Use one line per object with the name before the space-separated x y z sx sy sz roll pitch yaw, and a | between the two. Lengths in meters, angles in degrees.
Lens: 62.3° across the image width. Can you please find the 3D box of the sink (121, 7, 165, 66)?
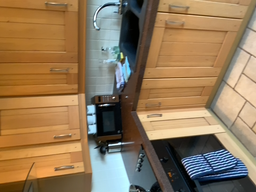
sink | 0.100 -0.500 1.760 0.440 0.170 0.330 -115 28 -49

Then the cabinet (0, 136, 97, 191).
cabinet | -0.720 0.580 1.680 0.320 0.880 0.290 -115 28 -49
